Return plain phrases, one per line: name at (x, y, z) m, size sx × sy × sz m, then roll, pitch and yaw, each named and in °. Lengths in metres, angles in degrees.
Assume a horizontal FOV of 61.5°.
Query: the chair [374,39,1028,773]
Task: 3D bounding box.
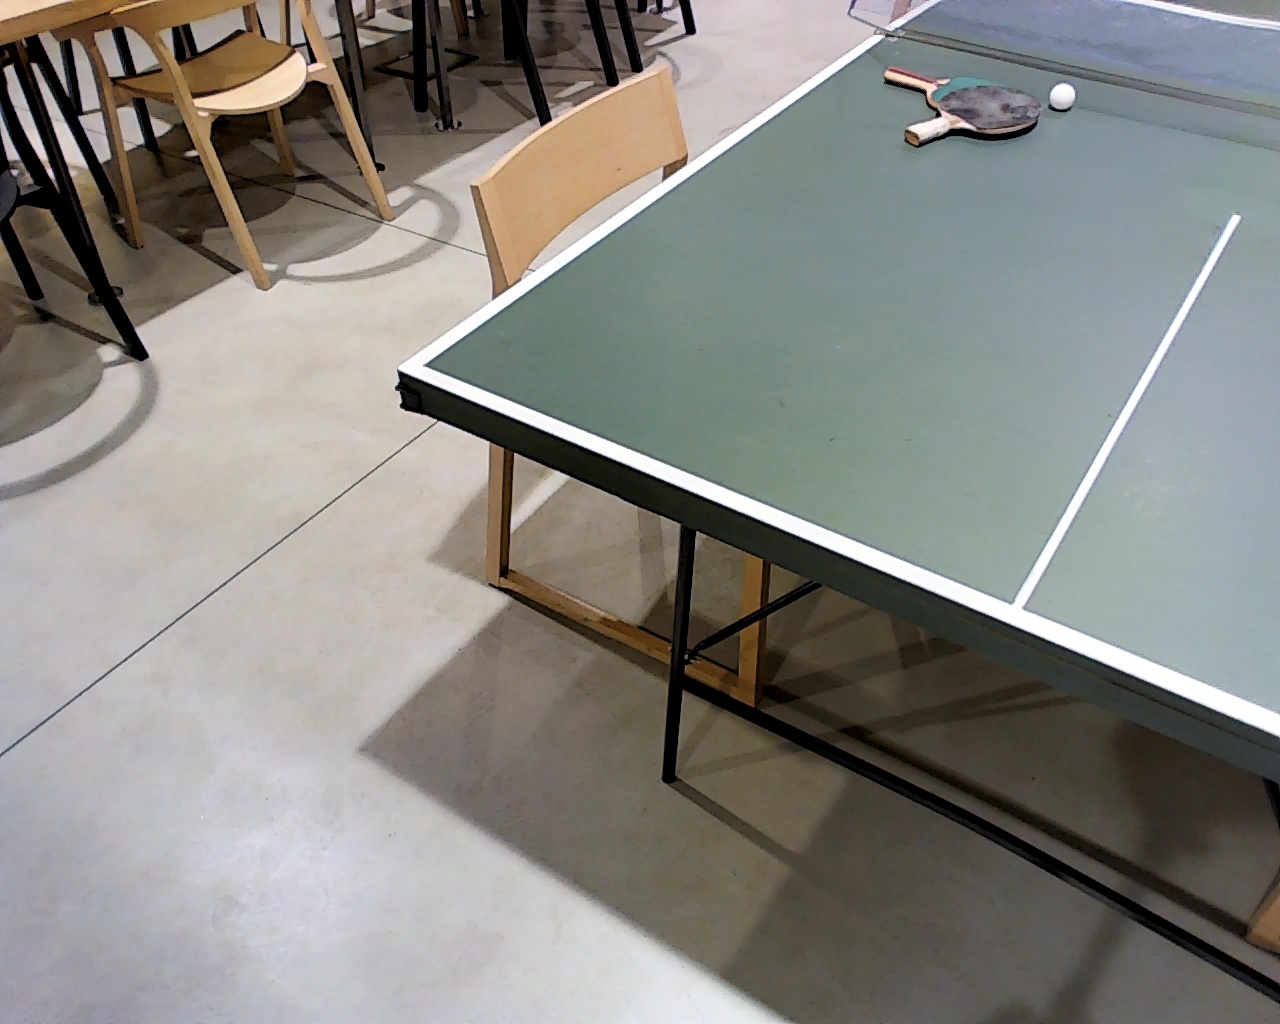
chair at (0.120, -0.210, 1.840) m, size 0.670 × 0.840 × 0.720 m, roll 24°, pitch 48°, yaw 25°
